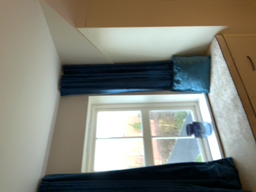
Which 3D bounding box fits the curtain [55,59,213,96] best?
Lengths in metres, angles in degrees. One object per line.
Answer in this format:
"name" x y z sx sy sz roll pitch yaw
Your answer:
"curtain" 0.070 -0.210 2.450 0.170 1.750 0.380 114 154 -86
